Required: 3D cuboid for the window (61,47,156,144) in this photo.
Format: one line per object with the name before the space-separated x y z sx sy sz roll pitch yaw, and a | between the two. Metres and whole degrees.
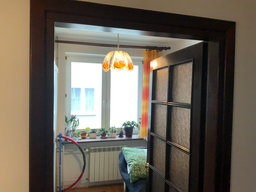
window | -0.330 0.010 3.830 1.640 1.650 0.180 1 1 -9
